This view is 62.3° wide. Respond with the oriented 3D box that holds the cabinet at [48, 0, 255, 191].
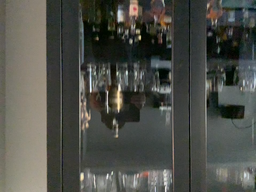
[{"bbox_3d":[0.160,-0.400,0.890,0.870,2.000,0.330,0,-179,-3],"label":"cabinet"}]
